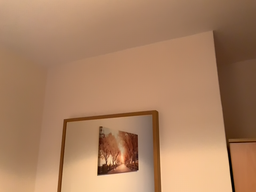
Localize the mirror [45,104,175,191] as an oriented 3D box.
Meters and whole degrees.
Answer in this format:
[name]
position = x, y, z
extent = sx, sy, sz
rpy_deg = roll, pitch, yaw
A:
[mirror]
position = -0.160, 0.480, 1.310
extent = 0.880, 0.770, 0.070
rpy_deg = -8, -17, 26
